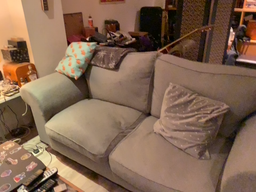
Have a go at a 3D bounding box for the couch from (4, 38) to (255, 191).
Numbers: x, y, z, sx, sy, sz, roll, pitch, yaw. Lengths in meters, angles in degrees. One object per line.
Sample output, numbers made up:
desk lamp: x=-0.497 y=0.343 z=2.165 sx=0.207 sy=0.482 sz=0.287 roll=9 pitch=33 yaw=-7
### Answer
couch: x=0.120 y=0.150 z=1.720 sx=1.970 sy=0.910 sz=0.980 roll=15 pitch=31 yaw=32
